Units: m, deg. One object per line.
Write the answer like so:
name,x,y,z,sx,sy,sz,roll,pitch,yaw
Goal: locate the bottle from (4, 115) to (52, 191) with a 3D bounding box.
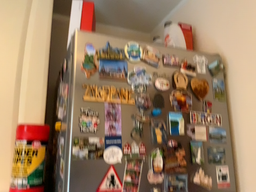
bottle,-0.340,0.220,0.730,0.120,0.290,0.130,4,-13,-23
